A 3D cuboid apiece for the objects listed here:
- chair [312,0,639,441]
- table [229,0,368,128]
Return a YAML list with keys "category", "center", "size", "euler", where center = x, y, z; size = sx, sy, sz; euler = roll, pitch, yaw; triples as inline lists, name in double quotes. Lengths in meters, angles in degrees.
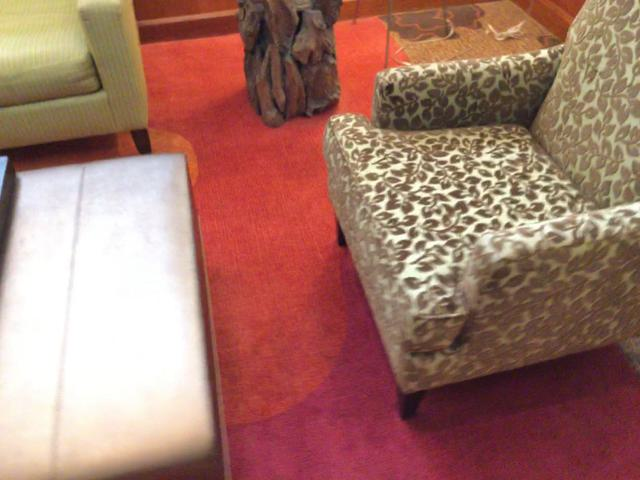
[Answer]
- category: "chair"
  center: [0.500, -0.190, 1.380]
  size: [0.900, 0.950, 0.760]
  euler: [-8, 44, -9]
- category: "table"
  center: [-0.100, -0.830, 2.260]
  size: [0.450, 0.590, 0.410]
  euler: [-10, 45, -11]
